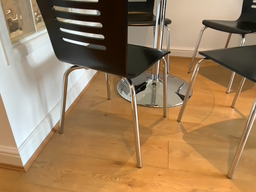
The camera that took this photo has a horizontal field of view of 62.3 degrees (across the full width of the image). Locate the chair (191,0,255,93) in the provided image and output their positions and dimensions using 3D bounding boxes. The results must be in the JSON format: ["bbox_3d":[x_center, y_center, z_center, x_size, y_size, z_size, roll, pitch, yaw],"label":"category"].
[{"bbox_3d":[0.900,-0.530,1.670,0.490,0.840,0.430,-11,33,-20],"label":"chair"}]
